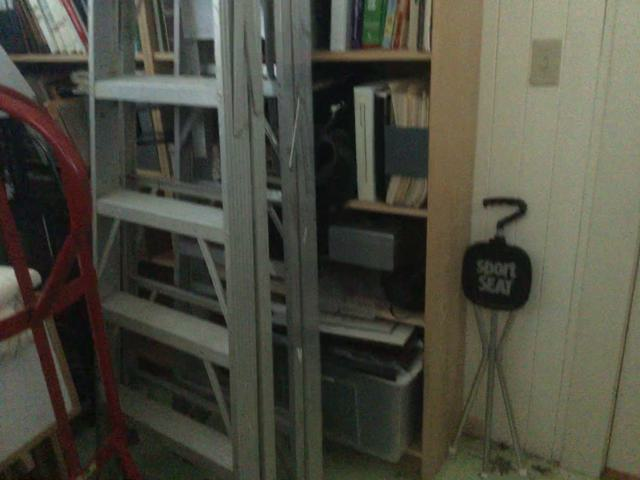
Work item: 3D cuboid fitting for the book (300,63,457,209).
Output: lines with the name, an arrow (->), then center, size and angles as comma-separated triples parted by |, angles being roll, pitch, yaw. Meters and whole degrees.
book -> 0.160, -0.290, 1.520 | 0.300, 0.310, 0.290 | 10, 25, 29

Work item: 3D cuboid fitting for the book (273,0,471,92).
book -> 0.130, -0.580, 1.410 | 0.400, 0.380, 0.280 | 10, 25, 29
